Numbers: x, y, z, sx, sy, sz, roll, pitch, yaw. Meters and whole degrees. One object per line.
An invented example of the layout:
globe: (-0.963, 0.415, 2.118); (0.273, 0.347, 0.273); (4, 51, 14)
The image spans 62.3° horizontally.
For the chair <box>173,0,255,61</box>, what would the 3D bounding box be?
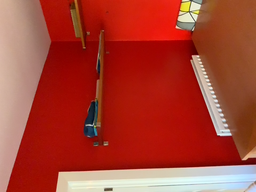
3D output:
chair: (1.020, -0.710, 2.210); (0.430, 0.930, 0.510); (93, 174, -52)
